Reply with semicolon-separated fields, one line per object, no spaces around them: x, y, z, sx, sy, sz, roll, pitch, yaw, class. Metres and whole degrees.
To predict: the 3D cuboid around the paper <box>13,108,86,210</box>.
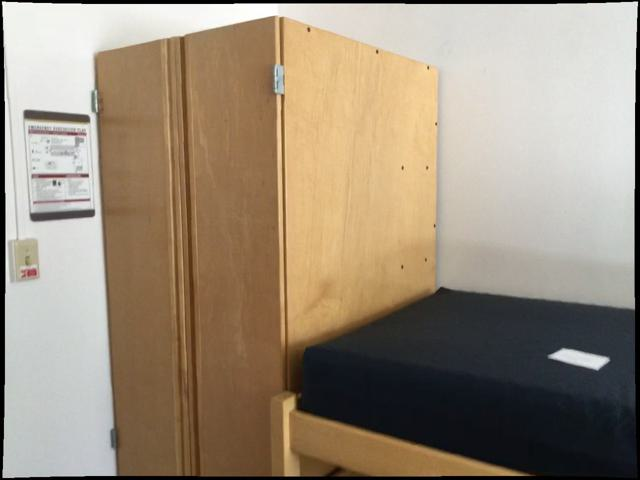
-0.809;-0.240;1.740;0.060;0.290;0.180;5;8;35;paper
